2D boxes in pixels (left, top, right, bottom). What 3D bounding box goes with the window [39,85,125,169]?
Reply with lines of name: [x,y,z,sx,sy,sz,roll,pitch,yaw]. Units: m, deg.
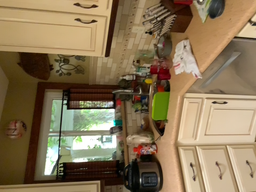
window: [-0.480,0.310,2.350,0.090,0.830,0.920,111,157,-59]
